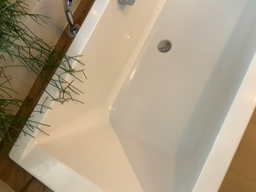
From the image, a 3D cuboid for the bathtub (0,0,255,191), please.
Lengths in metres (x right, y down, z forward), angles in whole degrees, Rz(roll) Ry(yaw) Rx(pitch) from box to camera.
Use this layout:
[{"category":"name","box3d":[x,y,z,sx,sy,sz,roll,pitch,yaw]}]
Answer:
[{"category":"bathtub","box3d":[0.280,-0.340,1.160,0.900,0.590,2.060,26,84,20]}]
